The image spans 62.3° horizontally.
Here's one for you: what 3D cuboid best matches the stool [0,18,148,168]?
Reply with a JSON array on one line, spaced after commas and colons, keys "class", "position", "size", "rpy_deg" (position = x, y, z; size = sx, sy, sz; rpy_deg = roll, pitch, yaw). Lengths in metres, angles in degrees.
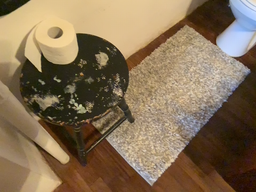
[{"class": "stool", "position": [-0.180, 0.020, 0.860], "size": [0.340, 0.430, 0.320], "rpy_deg": [-40, 72, -20]}]
